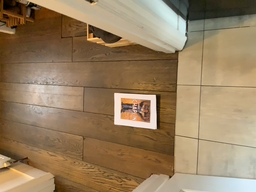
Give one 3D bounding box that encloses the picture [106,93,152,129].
[{"bbox_3d":[0.000,0.090,1.370,0.310,0.050,0.220,0,92,30],"label":"picture"}]
